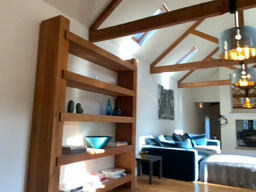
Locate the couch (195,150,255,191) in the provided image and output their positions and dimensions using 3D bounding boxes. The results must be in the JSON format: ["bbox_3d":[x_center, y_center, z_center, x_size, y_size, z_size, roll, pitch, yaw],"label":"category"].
[{"bbox_3d":[2.160,1.510,4.450,1.200,0.500,1.210,-2,-8,30],"label":"couch"}]

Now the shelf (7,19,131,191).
[{"bbox_3d":[-0.640,0.410,3.130,0.420,2.300,1.920,-2,-8,30],"label":"shelf"}]
